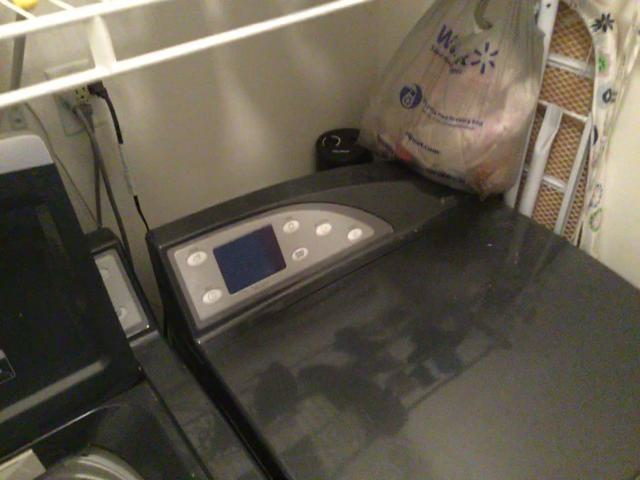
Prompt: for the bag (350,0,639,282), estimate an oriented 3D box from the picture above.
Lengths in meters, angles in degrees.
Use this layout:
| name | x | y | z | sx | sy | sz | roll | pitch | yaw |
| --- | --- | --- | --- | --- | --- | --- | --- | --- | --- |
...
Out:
| name | x | y | z | sx | sy | sz | roll | pitch | yaw |
| --- | --- | --- | --- | --- | --- | --- | --- | --- | --- |
| bag | 0.280 | -0.260 | 1.050 | 0.270 | 0.490 | 0.370 | -28 | 46 | -28 |
